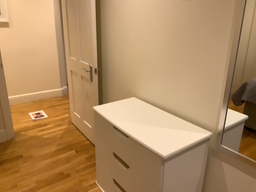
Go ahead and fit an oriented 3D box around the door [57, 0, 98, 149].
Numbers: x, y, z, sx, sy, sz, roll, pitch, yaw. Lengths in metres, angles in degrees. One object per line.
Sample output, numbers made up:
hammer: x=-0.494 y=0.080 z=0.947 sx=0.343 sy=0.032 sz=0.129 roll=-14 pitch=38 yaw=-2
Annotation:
door: x=-0.580 y=-0.460 z=2.380 sx=0.050 sy=1.970 sz=0.820 roll=-12 pitch=23 yaw=-34
